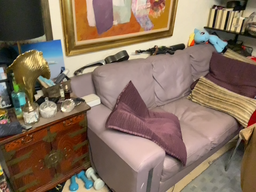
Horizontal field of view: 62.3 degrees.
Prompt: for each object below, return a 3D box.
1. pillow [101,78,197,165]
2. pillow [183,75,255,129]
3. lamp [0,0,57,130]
[{"bbox_3d":[0.140,0.170,1.700,0.610,0.390,0.590,3,29,1],"label":"pillow"},{"bbox_3d":[0.950,0.030,2.190,0.330,0.220,0.650,-22,37,-36],"label":"pillow"},{"bbox_3d":[-0.680,-0.230,1.260,0.300,0.750,0.300,-22,37,-36],"label":"lamp"}]
